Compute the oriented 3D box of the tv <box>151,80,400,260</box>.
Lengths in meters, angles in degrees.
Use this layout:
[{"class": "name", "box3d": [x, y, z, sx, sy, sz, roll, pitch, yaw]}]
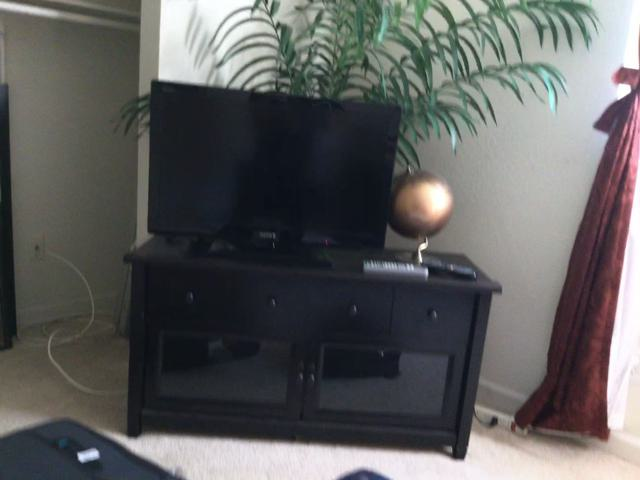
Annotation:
[{"class": "tv", "box3d": [-0.140, -0.220, 1.860, 0.730, 0.490, 0.180, 5, 5, 0]}]
